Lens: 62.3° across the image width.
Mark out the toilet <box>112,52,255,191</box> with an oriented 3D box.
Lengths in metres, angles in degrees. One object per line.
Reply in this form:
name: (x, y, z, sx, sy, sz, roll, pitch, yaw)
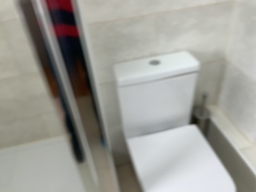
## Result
toilet: (0.210, 0.290, 1.070, 0.400, 0.780, 0.590, -11, 38, -8)
